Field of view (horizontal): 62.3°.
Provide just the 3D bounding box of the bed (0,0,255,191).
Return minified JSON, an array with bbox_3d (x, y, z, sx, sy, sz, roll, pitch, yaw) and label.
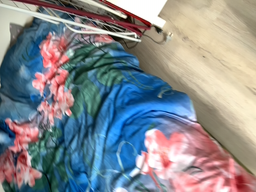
[{"bbox_3d":[-0.100,0.290,1.180,1.900,0.530,0.940,51,120,30],"label":"bed"}]
